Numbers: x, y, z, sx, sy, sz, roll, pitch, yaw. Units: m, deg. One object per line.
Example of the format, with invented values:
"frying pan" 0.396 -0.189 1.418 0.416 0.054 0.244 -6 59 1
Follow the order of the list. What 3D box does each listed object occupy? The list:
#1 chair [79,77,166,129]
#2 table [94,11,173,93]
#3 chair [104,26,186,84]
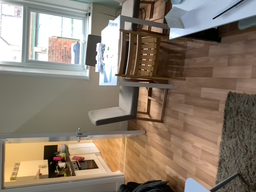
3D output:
"chair" -0.090 0.080 2.750 0.540 0.950 0.530 -155 70 -66
"table" 0.030 -0.510 2.790 0.730 0.750 0.840 -167 81 -67
"chair" 0.180 -0.440 2.430 0.470 0.760 0.510 -160 74 -66
